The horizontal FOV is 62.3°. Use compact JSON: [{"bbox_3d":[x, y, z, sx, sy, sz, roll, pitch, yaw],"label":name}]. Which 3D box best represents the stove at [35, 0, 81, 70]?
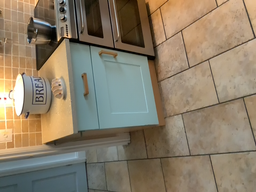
[{"bbox_3d":[-0.590,-0.610,1.700,0.630,0.100,0.610,-23,70,49],"label":"stove"}]

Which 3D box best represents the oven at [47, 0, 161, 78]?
[{"bbox_3d":[-0.240,-0.590,1.970,0.630,0.780,0.610,-23,70,49],"label":"oven"}]

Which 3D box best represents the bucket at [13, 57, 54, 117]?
[{"bbox_3d":[-0.710,-0.050,1.570,0.280,0.200,0.360,-22,71,49],"label":"bucket"}]
